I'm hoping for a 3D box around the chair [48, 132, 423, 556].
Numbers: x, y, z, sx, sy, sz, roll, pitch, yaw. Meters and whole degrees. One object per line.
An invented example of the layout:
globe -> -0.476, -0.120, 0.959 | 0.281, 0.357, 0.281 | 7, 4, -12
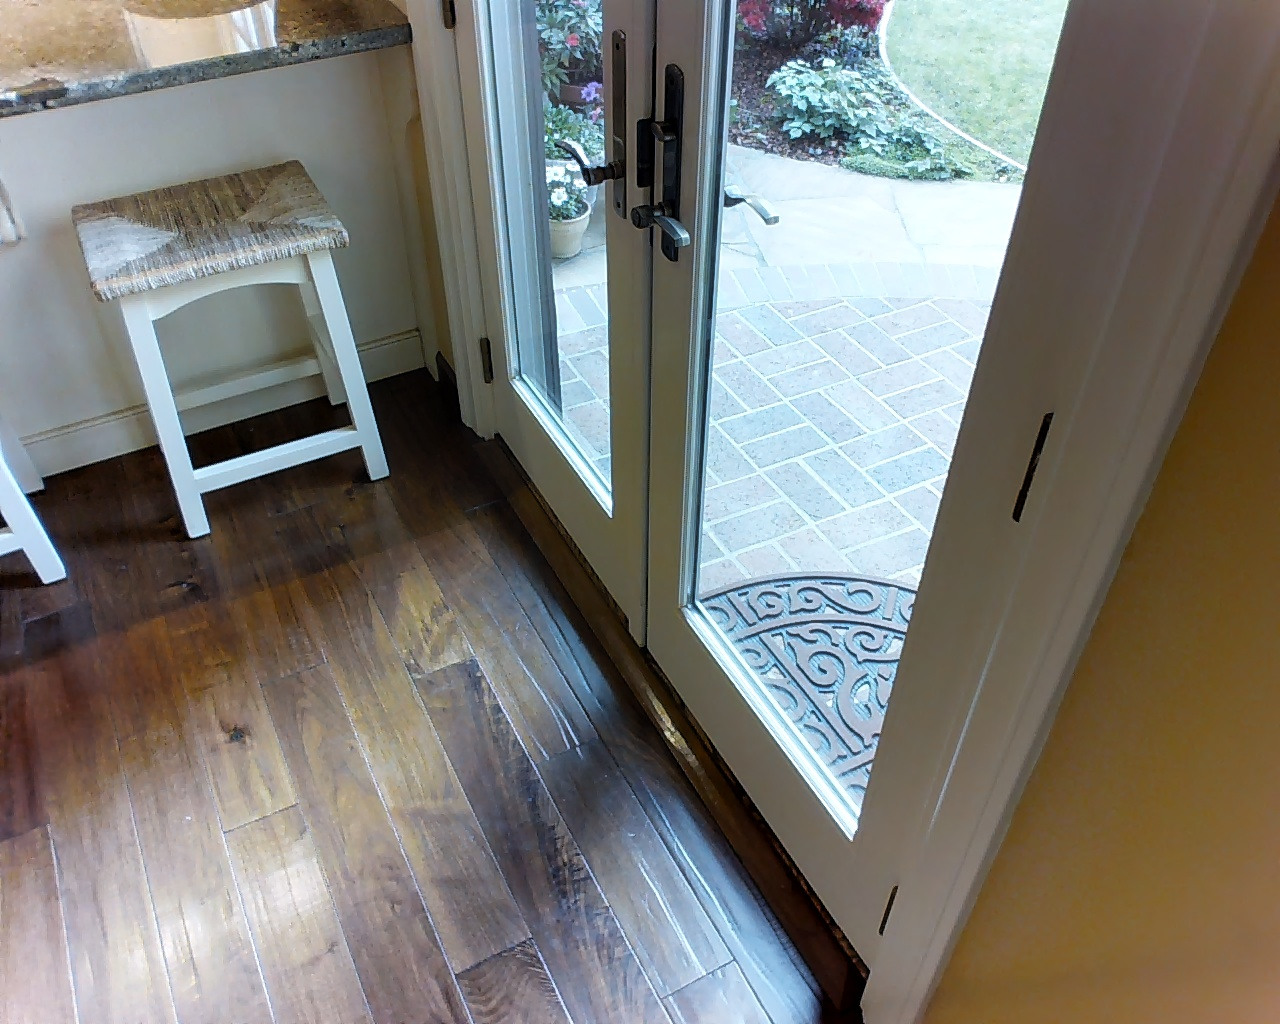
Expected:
chair -> -0.830, -0.360, 2.290 | 0.530, 0.650, 0.430 | -20, 46, -20
